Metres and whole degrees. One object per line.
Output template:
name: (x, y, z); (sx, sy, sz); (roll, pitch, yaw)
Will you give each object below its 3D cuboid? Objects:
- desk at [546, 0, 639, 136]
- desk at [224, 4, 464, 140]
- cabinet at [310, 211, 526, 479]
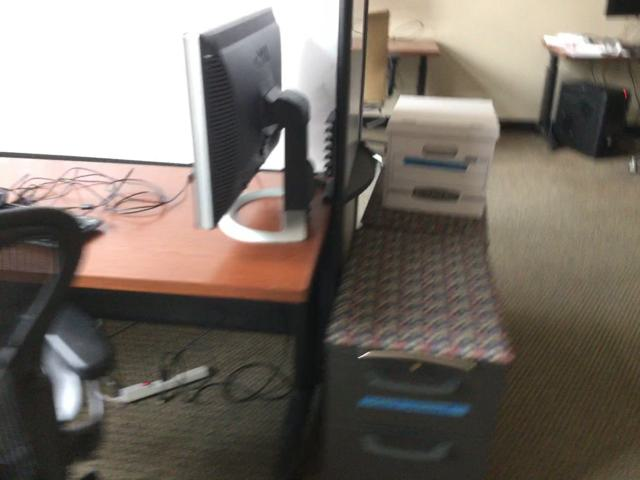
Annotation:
desk: (2.500, -1.220, 3.910); (1.610, 0.830, 0.710); (1, 29, 9)
desk: (0.210, -1.250, 4.300); (1.580, 0.790, 0.750); (1, 29, 9)
cabinet: (0.250, 0.340, 1.560); (0.420, 0.610, 0.640); (1, 29, 9)
